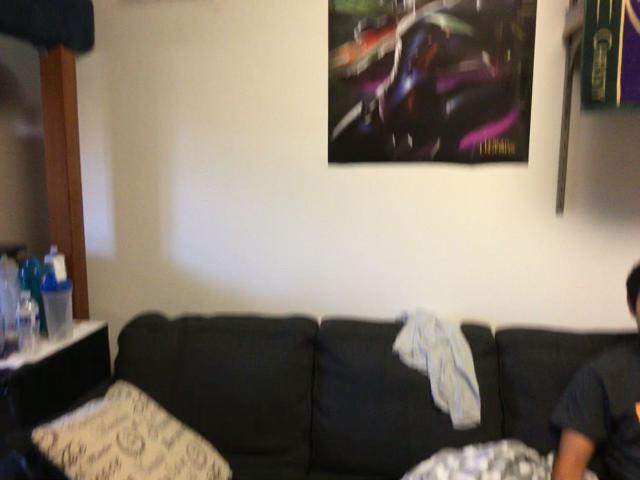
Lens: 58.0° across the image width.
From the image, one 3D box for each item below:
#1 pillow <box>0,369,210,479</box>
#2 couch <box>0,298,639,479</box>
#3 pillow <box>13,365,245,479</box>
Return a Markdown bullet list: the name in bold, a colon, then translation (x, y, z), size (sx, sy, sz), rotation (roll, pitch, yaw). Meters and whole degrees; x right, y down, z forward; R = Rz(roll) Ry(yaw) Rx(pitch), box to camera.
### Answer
- **pillow**: translation (-0.580, 0.590, 1.610), size (0.360, 0.270, 0.530), rotation (0, 8, 10)
- **couch**: translation (0.210, 0.740, 1.640), size (2.130, 0.900, 1.000), rotation (0, 8, 10)
- **pillow**: translation (-0.470, 0.590, 1.570), size (0.380, 0.320, 0.520), rotation (0, 8, 10)
